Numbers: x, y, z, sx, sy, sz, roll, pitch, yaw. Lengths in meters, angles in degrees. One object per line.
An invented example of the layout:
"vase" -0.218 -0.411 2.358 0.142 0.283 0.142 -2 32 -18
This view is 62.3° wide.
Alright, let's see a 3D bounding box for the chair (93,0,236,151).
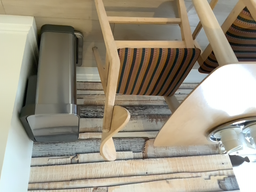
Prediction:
"chair" 0.100 -0.150 1.280 0.570 0.780 0.540 -1 150 -12
